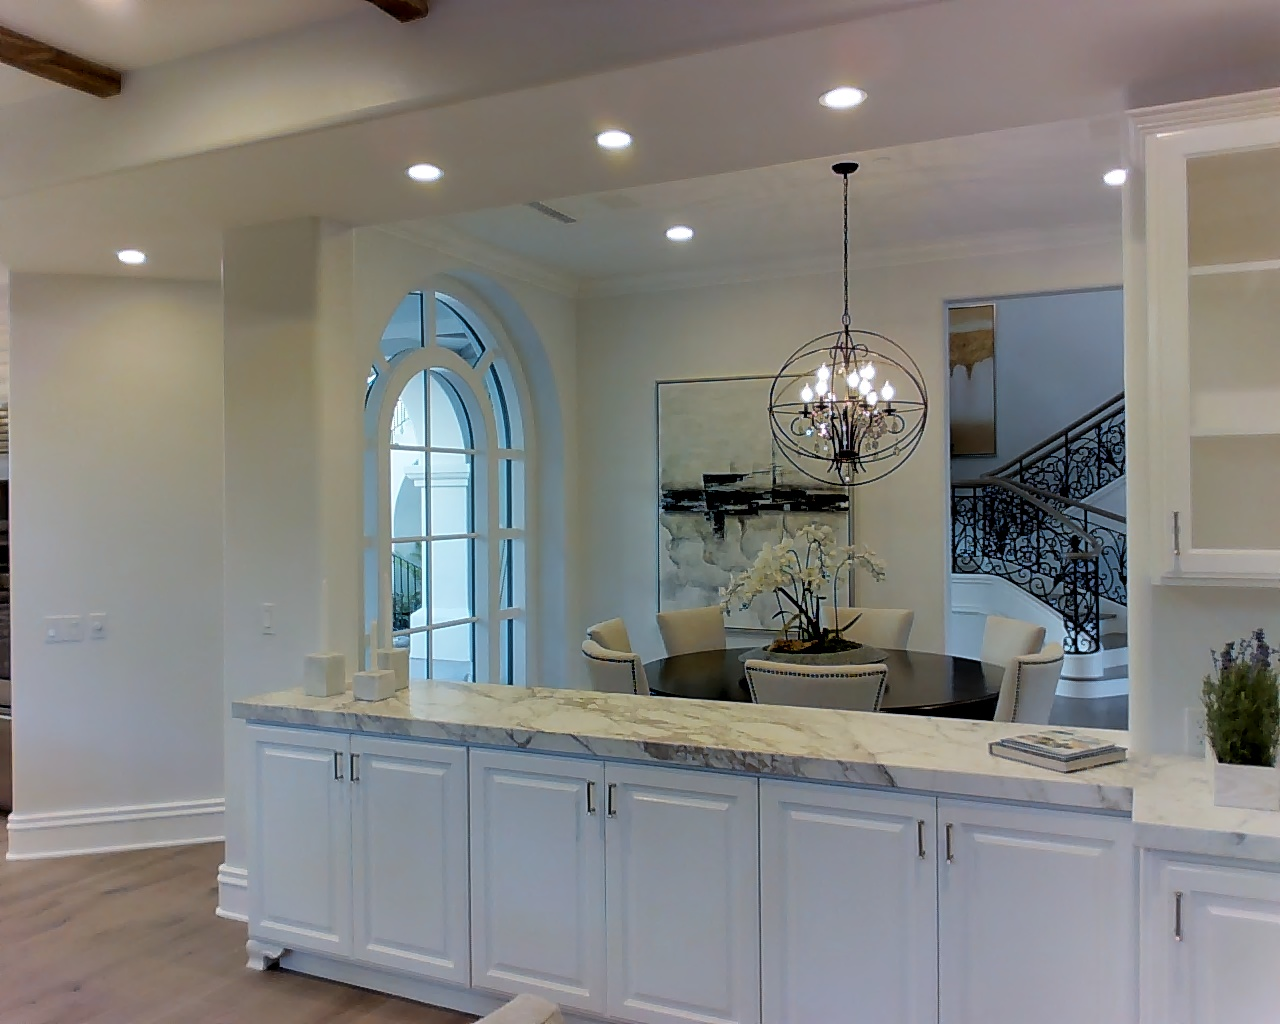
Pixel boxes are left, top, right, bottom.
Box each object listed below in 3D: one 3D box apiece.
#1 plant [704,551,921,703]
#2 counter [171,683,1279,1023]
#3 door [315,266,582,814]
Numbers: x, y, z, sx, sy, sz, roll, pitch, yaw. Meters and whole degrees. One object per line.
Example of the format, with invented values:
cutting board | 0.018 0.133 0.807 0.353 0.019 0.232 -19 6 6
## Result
plant | 0.840 0.520 5.190 0.780 0.620 0.720 0 0 38
counter | 0.230 1.080 2.780 3.309 0.970 0.640 0 0 26
door | -1.130 0.150 6.920 0.530 2.991 2.110 0 0 26
